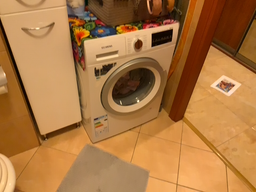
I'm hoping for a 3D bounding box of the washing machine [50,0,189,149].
[{"bbox_3d":[-0.110,-0.210,1.590,0.620,0.830,0.660,-19,48,-25],"label":"washing machine"}]
